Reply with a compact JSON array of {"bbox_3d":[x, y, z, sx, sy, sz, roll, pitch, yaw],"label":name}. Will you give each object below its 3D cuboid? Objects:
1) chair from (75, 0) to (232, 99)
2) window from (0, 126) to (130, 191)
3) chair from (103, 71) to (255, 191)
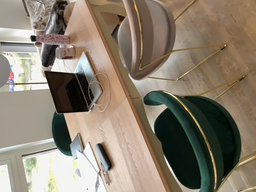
[{"bbox_3d":[0.150,-0.350,1.440,0.600,0.740,0.480,-35,67,49],"label":"chair"},{"bbox_3d":[-1.100,0.930,2.000,0.070,2.480,0.890,-36,67,49],"label":"window"},{"bbox_3d":[0.380,0.240,1.200,0.580,0.750,0.490,-48,58,45],"label":"chair"}]
